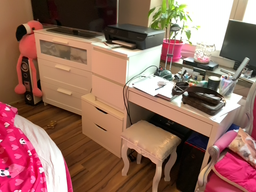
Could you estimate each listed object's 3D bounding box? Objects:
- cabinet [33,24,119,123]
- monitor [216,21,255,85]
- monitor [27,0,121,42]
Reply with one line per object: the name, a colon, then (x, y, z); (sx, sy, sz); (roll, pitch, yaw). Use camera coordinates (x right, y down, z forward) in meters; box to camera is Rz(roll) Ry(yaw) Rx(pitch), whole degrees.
cabinet: (-0.590, -0.300, 2.540); (0.800, 0.930, 0.480); (16, 30, 22)
monitor: (0.970, -0.330, 1.670); (0.030, 0.420, 0.530); (-12, 31, -29)
monitor: (-0.600, -1.000, 2.150); (1.170, 0.670, 0.050); (18, 31, 21)
